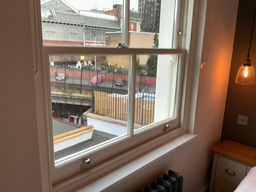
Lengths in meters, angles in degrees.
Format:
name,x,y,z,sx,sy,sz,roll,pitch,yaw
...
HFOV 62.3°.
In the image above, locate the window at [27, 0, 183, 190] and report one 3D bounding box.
name,x,y,z,sx,sy,sz,roll,pitch,yaw
window,-0.010,-0.210,1.250,0.070,1.130,1.080,13,17,41
